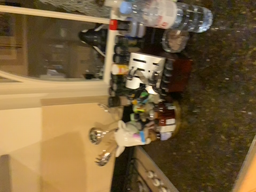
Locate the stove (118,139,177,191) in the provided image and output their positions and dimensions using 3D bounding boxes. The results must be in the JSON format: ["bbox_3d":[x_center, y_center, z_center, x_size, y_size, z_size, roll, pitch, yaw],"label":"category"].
[{"bbox_3d":[0.090,0.640,1.140,0.540,0.040,0.600,41,128,53],"label":"stove"}]
